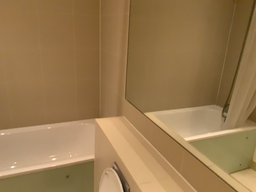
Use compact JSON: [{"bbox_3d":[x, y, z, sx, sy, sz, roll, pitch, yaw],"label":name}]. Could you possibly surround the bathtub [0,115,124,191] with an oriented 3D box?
[{"bbox_3d":[-0.960,0.650,1.760,1.690,0.580,0.680,-5,20,-23],"label":"bathtub"}]
